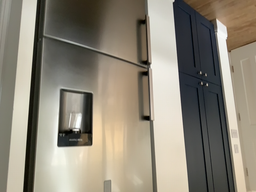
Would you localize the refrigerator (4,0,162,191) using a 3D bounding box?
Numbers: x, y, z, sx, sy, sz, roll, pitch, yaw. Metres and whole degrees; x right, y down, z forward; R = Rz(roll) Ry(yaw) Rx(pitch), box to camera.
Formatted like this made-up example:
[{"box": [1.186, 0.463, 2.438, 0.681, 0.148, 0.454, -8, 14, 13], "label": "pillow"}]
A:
[{"box": [-0.230, -0.100, 1.310, 0.760, 1.900, 0.400, 9, 164, -43], "label": "refrigerator"}]
